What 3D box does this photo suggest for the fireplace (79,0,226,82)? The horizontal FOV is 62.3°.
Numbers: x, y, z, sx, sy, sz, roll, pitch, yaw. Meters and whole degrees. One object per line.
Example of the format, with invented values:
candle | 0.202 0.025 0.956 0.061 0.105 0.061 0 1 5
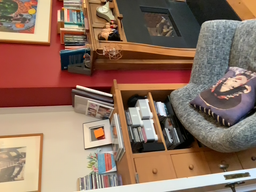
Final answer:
fireplace | 0.170 -0.860 2.500 0.420 1.350 1.410 111 152 -52
